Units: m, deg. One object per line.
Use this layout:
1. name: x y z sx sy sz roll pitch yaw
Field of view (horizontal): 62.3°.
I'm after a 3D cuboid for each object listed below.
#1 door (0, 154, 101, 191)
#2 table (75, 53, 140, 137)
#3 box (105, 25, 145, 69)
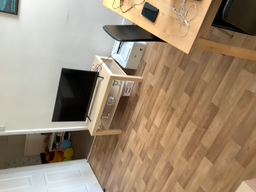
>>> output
1. door: -1.480 1.330 3.110 0.870 1.970 0.140 41 124 51
2. table: -0.330 -0.010 2.900 0.590 0.470 0.930 50 129 46
3. box: -0.060 -0.630 2.730 0.470 0.230 0.410 45 126 49
